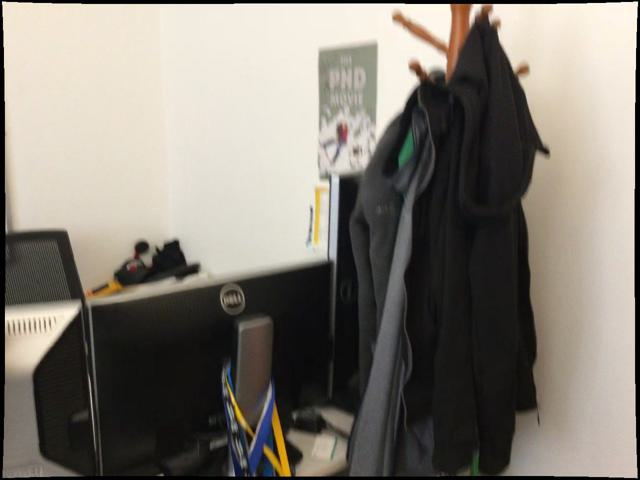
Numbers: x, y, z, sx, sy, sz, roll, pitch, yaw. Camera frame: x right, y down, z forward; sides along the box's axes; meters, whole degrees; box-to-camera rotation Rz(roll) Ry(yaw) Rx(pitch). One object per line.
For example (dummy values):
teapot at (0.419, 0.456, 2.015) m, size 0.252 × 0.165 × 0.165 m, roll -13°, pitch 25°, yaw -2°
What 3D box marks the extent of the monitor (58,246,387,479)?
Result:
monitor at (-0.180, 0.330, 1.190) m, size 0.580 × 0.520 × 0.250 m, roll -8°, pitch 18°, yaw -35°
